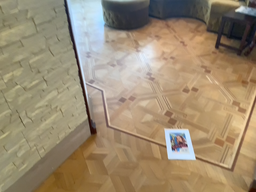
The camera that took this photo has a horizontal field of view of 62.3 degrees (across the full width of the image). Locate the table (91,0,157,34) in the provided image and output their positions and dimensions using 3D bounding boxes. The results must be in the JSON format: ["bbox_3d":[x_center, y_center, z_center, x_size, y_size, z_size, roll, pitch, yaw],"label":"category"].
[{"bbox_3d":[-0.090,-1.530,3.680,0.800,0.460,0.830,-23,45,-24],"label":"table"}]
